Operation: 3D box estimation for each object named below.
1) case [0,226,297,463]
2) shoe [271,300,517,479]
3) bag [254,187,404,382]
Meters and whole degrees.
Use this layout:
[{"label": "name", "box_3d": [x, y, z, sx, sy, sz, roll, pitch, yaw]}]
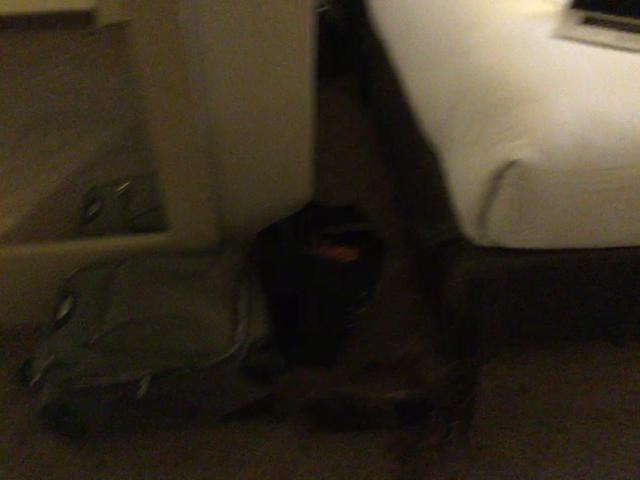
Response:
[{"label": "case", "box_3d": [-0.430, 0.240, 1.410, 0.690, 0.280, 0.380, -8, 39, -2]}, {"label": "shoe", "box_3d": [0.170, 0.380, 1.330, 0.380, 0.130, 0.400, 28, 50, 35]}, {"label": "bag", "box_3d": [0.020, 0.110, 1.490, 0.320, 0.320, 0.330, -8, 39, -2]}]
